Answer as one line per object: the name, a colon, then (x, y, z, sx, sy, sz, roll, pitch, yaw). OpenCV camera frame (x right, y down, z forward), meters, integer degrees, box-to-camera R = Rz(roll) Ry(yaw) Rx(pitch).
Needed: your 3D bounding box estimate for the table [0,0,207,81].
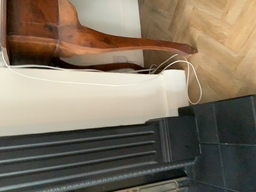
table: (-0.170, -0.720, 1.040, 0.550, 0.750, 1.190, -19, 74, 62)
